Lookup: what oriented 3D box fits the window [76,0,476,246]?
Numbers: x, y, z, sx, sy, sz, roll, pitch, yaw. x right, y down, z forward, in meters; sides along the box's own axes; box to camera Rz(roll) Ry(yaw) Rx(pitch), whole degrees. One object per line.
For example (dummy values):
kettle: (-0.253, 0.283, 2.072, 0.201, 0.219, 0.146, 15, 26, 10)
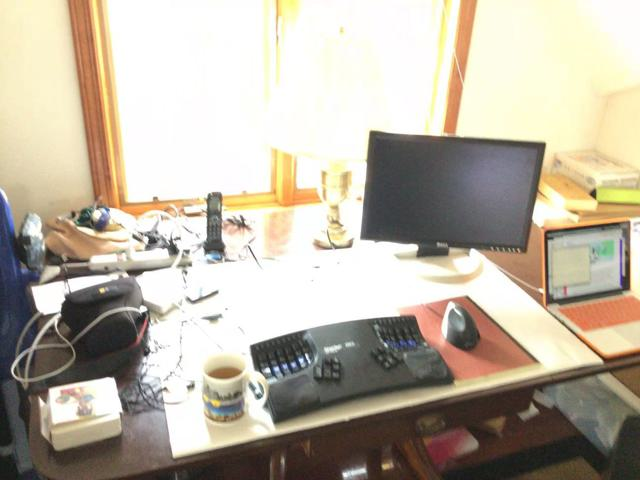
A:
window: (-0.110, -0.530, 1.870, 1.180, 0.930, 0.260, -8, 28, -17)
